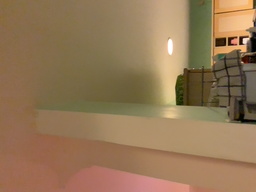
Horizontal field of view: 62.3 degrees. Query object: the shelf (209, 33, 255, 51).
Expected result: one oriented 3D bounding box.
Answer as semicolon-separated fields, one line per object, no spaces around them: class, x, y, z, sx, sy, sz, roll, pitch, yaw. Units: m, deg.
shelf;1.540;-0.730;2.850;0.310;0.820;0.140;-11;-79;-64
